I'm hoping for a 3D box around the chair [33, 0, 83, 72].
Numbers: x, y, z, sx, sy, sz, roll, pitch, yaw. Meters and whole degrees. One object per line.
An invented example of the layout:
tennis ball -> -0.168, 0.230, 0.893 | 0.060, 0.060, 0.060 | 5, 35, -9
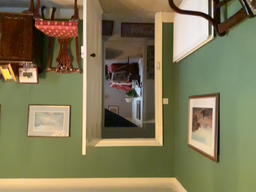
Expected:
chair -> -0.900, -0.850, 2.830 | 0.480, 0.990, 0.530 | 1, 178, -2
